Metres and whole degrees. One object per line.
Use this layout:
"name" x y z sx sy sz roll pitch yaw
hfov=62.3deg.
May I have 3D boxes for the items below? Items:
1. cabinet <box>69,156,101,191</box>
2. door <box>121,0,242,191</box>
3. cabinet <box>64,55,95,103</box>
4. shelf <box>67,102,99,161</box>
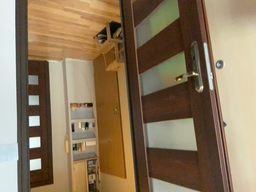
"cabinet" -0.730 1.500 3.610 0.480 0.840 0.160 0 170 -29
"door" 0.210 -0.160 1.290 0.100 2.010 0.780 -1 170 -25
"cabinet" -0.890 -0.300 3.880 0.510 0.830 0.140 0 170 -29
"shelf" -0.800 0.600 3.750 0.480 0.980 0.150 0 170 -29
